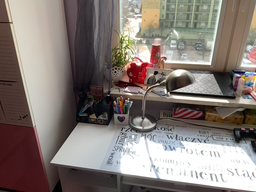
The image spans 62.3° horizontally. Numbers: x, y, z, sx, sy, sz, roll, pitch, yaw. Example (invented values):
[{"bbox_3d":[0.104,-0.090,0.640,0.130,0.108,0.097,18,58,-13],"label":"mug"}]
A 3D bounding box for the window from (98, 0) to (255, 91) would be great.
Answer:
[{"bbox_3d":[0.700,-0.770,1.360,1.820,1.530,0.110,4,26,7],"label":"window"}]
